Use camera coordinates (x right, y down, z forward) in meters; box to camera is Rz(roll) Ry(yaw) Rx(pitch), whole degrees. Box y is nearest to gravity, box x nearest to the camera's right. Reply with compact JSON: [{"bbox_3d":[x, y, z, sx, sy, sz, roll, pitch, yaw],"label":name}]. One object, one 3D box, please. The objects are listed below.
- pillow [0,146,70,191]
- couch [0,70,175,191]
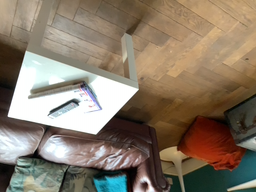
[{"bbox_3d":[-0.820,0.750,1.850,0.420,0.420,0.160,43,129,0],"label":"pillow"},{"bbox_3d":[-0.880,0.460,1.810,2.370,0.750,0.960,18,138,-27],"label":"couch"}]
